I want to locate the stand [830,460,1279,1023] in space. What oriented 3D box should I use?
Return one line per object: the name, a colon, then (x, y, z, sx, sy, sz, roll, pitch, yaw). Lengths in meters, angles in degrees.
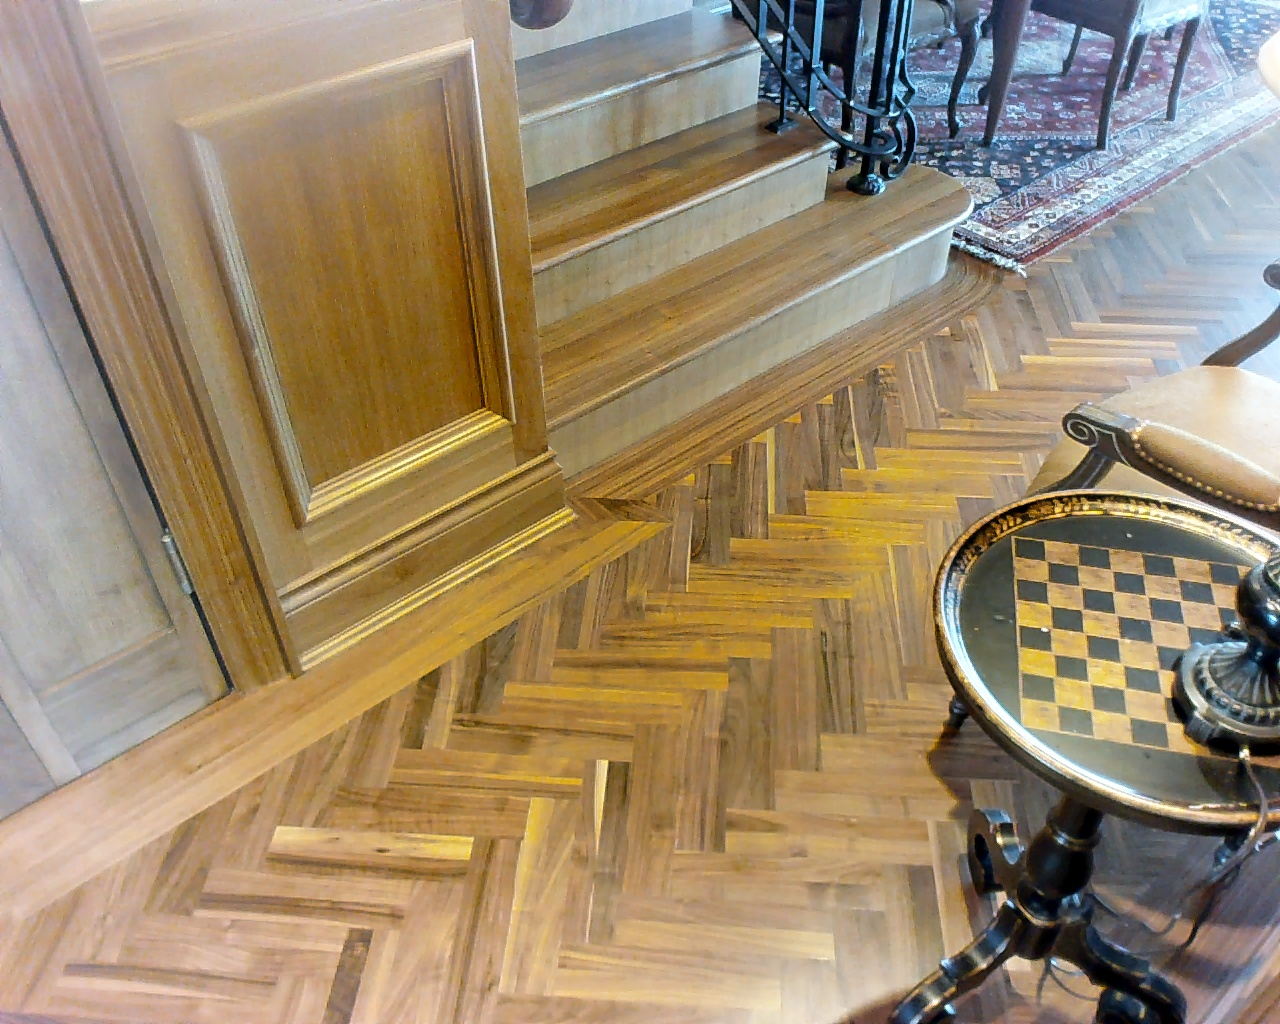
stand: (0.490, 0.370, 1.160, 0.320, 0.700, 0.370, -31, 50, -29)
